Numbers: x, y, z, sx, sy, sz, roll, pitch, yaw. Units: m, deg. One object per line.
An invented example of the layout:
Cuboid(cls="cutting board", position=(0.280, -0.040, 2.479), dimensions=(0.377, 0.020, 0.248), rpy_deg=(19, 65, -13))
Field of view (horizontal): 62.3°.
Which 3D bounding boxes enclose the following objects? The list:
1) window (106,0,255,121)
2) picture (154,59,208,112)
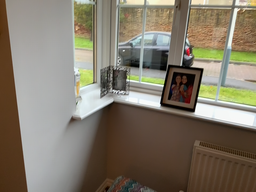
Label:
Cuboid(cls="window", position=(0.600, -0.370, 1.360), dimensions=(1.650, 0.980, 0.080), rpy_deg=(12, 20, 23))
Cuboid(cls="picture", position=(0.350, -0.070, 1.400), dimensions=(0.270, 0.290, 0.110), rpy_deg=(12, -7, 25))
